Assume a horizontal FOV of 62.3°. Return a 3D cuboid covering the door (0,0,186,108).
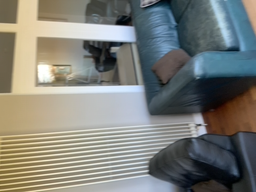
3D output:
[{"bbox_3d":[-0.580,-1.290,2.930,0.090,2.360,2.960,126,139,-63],"label":"door"}]
